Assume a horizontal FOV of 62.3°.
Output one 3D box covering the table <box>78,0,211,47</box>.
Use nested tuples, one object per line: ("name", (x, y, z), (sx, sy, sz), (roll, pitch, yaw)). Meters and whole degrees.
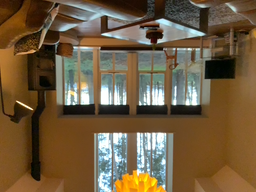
("table", (0.230, -1.060, 3.060), (1.350, 0.420, 1.330), (-4, -174, -43))

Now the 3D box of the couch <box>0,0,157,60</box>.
("couch", (-0.810, -0.810, 1.960), (1.100, 0.760, 1.870), (-4, -174, -41))
